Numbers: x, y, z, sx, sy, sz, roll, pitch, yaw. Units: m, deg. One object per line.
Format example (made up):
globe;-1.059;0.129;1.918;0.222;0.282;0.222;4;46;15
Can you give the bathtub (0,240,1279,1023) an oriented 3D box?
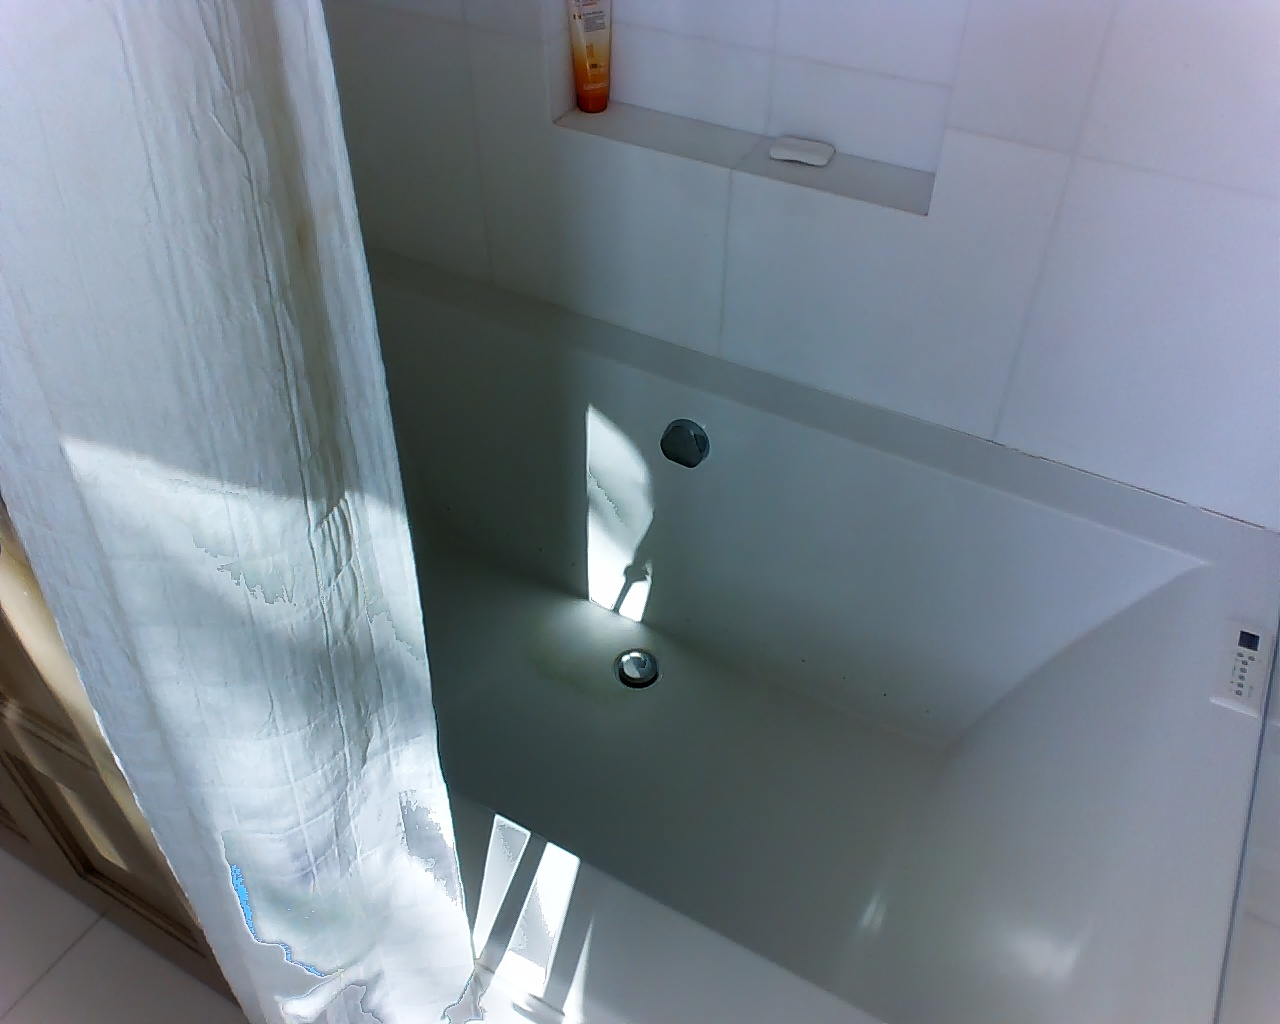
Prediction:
bathtub;-0.090;0.300;1.640;1.830;0.570;1.080;21;47;21
